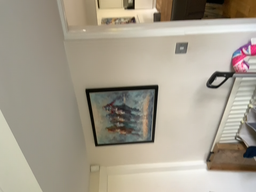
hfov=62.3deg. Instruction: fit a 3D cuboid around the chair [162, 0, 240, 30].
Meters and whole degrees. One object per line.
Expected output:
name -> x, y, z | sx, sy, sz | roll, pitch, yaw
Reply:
chair -> 1.060, -1.400, 3.220 | 0.620, 0.910, 0.510 | -96, 4, -47
